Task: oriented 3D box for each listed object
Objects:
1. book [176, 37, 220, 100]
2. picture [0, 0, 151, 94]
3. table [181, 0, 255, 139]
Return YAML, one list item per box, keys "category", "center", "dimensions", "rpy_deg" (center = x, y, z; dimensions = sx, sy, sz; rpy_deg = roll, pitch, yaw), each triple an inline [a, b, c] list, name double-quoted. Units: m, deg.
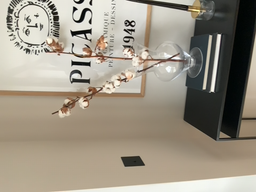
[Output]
- category: "book"
  center: [0.330, -0.140, 1.040]
  dimensions: [0.230, 0.060, 0.270]
  rpy_deg: [-137, 50, -72]
- category: "picture"
  center: [-0.290, -0.310, 0.960]
  dimensions: [0.030, 0.800, 0.590]
  rpy_deg: [-147, 59, -74]
- category: "table"
  center: [0.720, -0.270, 1.070]
  dimensions: [0.300, 0.730, 0.890]
  rpy_deg: [-139, 51, -72]
